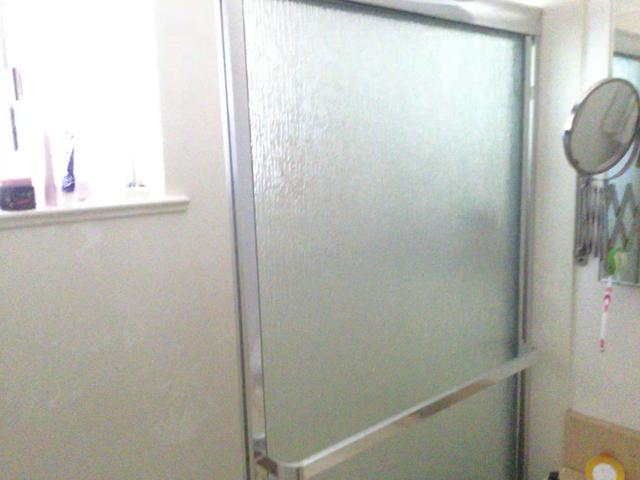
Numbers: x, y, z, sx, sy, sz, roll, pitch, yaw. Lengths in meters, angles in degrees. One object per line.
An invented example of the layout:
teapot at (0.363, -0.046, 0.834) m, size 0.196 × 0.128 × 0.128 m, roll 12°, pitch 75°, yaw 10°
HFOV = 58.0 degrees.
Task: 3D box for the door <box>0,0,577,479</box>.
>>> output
door at (-0.080, 0.310, 0.850) m, size 1.410 × 1.420 × 0.130 m, roll -8°, pitch 11°, yaw -37°
